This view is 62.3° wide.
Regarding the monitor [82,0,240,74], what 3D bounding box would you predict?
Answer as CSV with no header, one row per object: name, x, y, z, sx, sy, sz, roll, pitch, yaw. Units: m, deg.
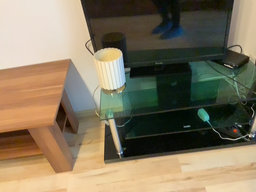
monitor,0.170,-0.360,1.150,0.750,0.480,0.070,-3,40,6

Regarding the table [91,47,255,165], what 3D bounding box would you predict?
table,0.330,0.050,1.320,1.020,0.400,0.460,-8,40,1

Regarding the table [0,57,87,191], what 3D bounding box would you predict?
table,-0.880,0.200,1.270,1.120,0.510,0.530,-8,40,1
